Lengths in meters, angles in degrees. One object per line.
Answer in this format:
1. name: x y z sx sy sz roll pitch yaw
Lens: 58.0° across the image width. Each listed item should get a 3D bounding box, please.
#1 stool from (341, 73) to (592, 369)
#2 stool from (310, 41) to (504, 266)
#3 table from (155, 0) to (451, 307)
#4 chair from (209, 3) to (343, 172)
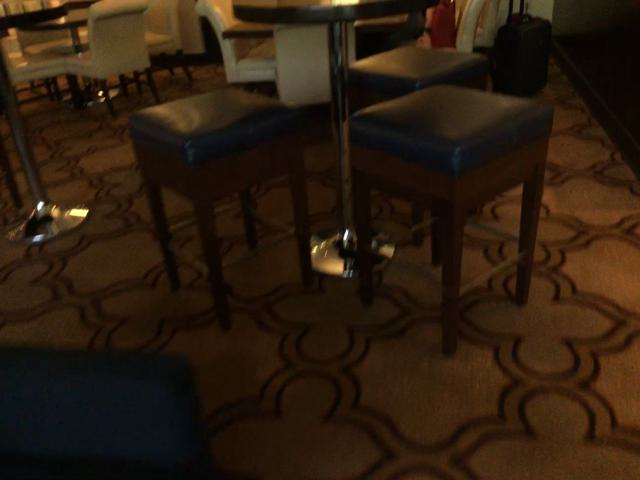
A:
1. stool: 0.500 -0.110 2.030 0.560 0.780 0.550 -24 32 -31
2. stool: 0.390 -0.420 2.580 0.560 0.780 0.570 -24 31 -30
3. table: 0.060 -0.430 2.320 0.890 1.060 0.860 0 28 14
4. chair: -0.210 -0.880 3.320 0.600 0.790 0.540 -4 27 6
